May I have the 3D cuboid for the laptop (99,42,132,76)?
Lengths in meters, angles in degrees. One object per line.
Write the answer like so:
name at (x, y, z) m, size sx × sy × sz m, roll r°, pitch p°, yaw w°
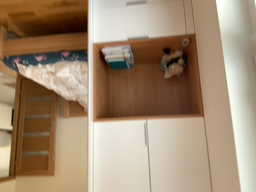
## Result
laptop at (-0.100, -0.320, 1.920) m, size 0.240 × 0.140 × 0.420 m, roll -3°, pitch 169°, yaw 5°
